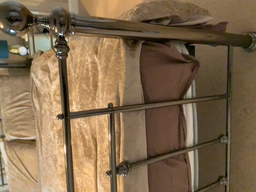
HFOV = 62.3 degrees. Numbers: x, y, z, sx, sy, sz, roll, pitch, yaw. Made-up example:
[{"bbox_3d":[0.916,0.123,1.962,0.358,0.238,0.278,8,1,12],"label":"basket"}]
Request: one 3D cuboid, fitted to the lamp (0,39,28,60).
[{"bbox_3d":[-1.230,-0.470,2.170,0.230,0.340,0.180,4,99,58],"label":"lamp"}]
